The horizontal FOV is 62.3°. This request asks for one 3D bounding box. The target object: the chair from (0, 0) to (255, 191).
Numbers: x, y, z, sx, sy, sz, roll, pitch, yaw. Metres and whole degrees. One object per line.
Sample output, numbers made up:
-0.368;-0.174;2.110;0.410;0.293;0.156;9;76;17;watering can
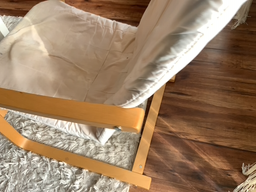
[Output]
-0.100;-0.200;0.640;0.760;0.980;0.610;13;58;13;chair
